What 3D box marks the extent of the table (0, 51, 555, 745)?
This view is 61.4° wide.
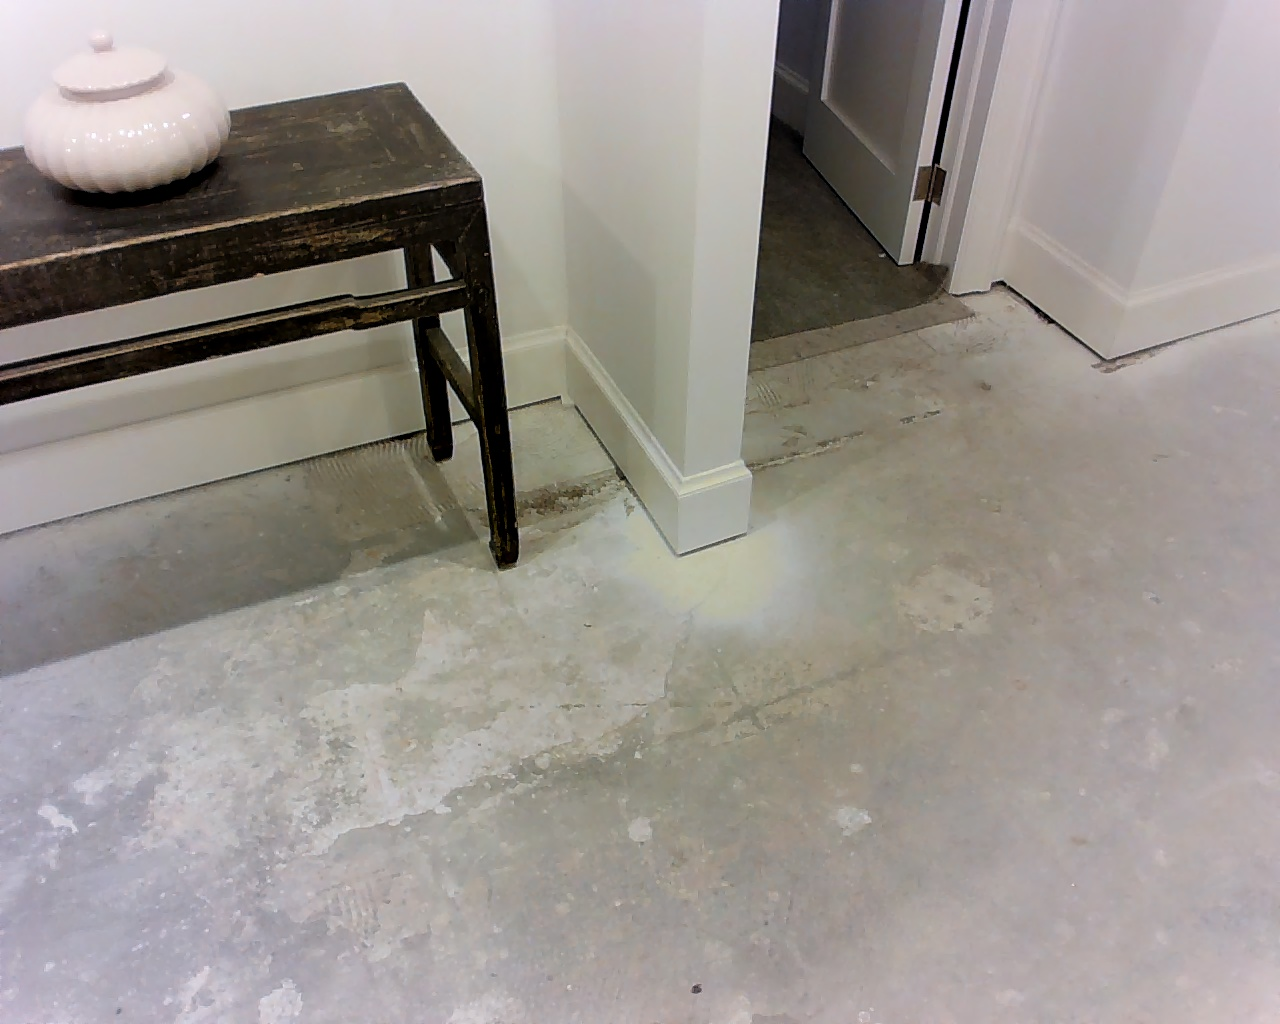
[{"bbox_3d":[-1.360,-0.060,1.770,2.340,0.870,0.590,-16,44,-18],"label":"table"}]
